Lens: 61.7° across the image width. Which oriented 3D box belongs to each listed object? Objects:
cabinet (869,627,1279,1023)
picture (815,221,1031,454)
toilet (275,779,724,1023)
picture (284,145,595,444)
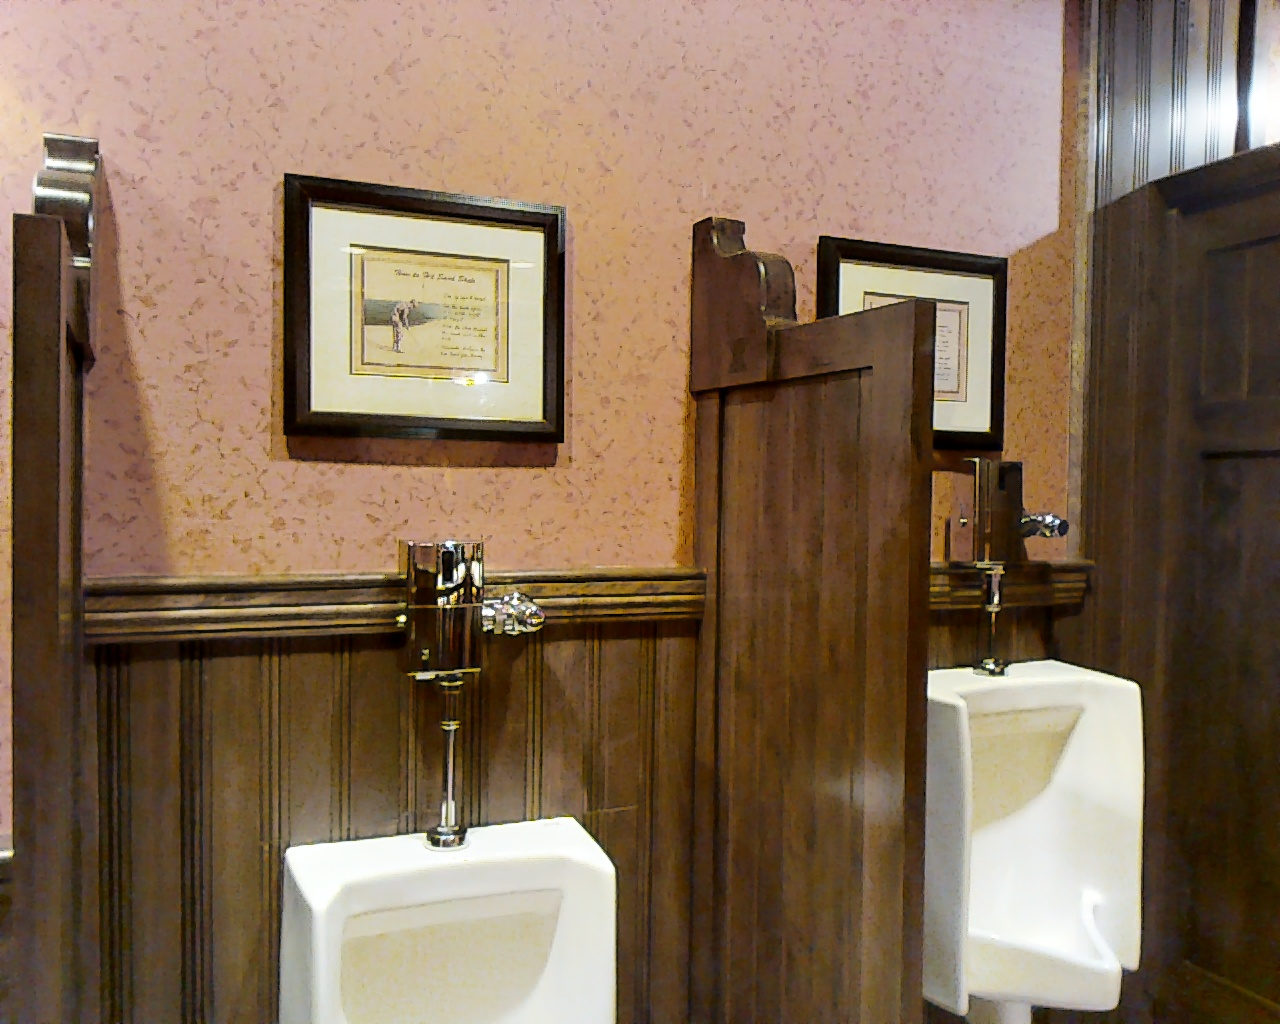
[{"bbox_3d":[0.770,0.650,1.910,0.590,0.820,0.370,0,2,-25],"label":"cabinet"},{"bbox_3d":[0.530,-0.310,1.980,0.450,0.390,0.050,0,2,-25],"label":"picture"},{"bbox_3d":[-0.210,0.830,1.480,0.520,0.780,0.370,0,2,-25],"label":"toilet"},{"bbox_3d":[-0.290,-0.310,1.610,0.460,0.400,0.040,0,2,-25],"label":"picture"}]
